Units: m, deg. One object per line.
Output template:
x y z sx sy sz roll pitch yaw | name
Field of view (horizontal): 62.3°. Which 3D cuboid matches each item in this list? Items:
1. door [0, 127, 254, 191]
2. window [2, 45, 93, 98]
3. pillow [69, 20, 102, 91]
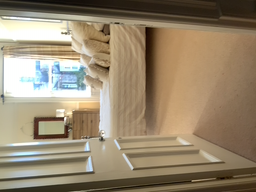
-0.330 0.390 1.460 0.830 2.080 0.140 -169 80 -75 | door
-1.950 -0.560 5.340 0.360 2.070 1.200 177 93 -76 | window
-0.810 -0.700 3.980 0.670 0.560 1.160 171 99 -76 | pillow
